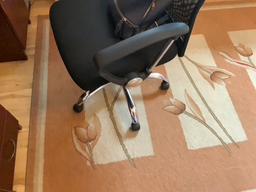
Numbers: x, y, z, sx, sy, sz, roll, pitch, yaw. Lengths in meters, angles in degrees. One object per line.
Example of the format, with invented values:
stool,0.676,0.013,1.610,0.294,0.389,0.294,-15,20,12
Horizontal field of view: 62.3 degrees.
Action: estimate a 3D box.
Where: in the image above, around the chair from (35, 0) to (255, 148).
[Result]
chair,0.030,-0.400,0.880,0.700,1.170,0.680,-26,66,-16
